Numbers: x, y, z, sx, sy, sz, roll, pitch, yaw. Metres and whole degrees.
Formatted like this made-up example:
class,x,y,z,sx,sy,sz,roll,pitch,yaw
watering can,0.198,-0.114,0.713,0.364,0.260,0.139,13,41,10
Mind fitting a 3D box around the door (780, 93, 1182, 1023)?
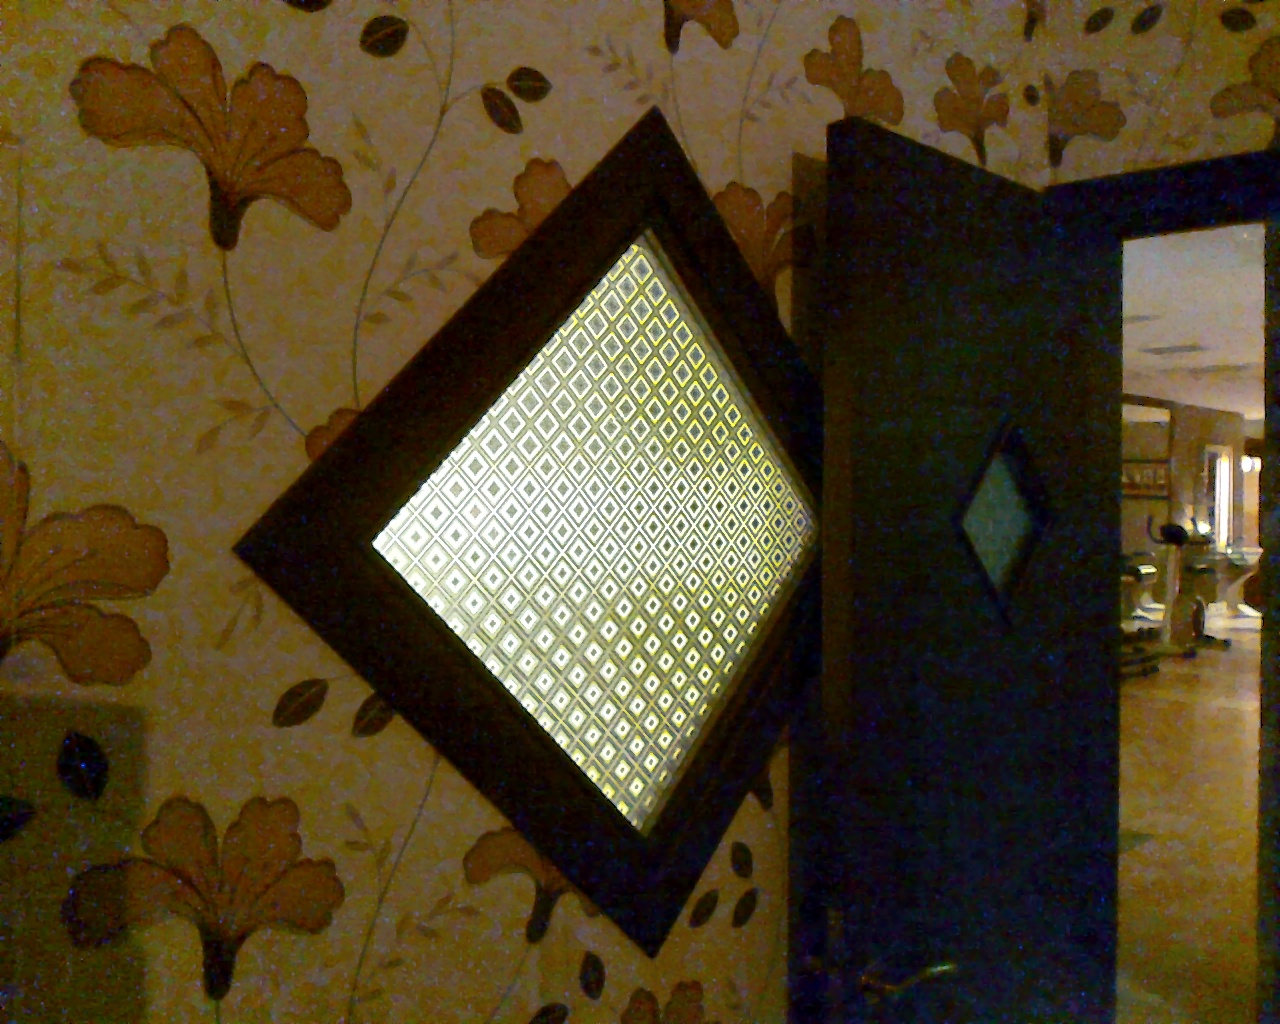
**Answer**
class,x,y,z,sx,sy,sz,roll,pitch,yaw
door,0.560,0.540,1.640,0.820,2.090,0.190,-1,1,-42
